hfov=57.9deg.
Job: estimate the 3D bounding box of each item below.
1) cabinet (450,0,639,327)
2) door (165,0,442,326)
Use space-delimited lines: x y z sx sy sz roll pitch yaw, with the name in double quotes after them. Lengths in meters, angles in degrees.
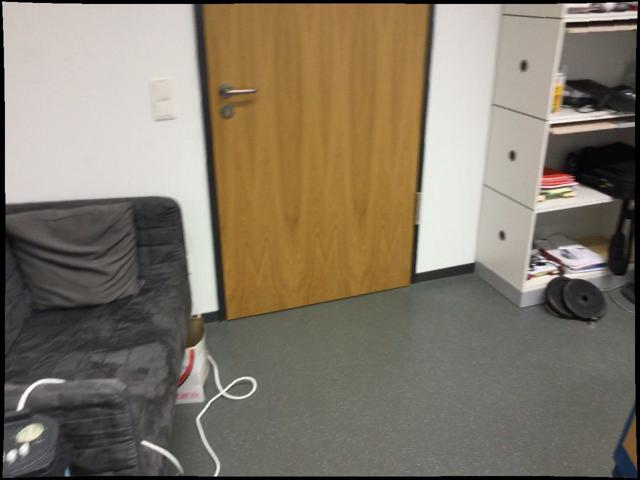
1.219 -0.861 2.470 0.879 2.282 0.690 -9 26 -18 "cabinet"
-0.030 -0.611 2.390 1.099 1.962 0.100 -9 26 -18 "door"
